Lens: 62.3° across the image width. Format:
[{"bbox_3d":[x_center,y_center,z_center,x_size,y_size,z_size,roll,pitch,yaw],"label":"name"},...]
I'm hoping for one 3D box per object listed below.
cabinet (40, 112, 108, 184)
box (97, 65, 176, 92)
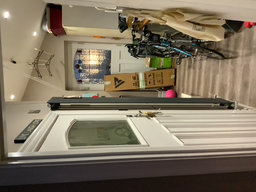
[{"bbox_3d":[-0.760,0.640,3.230,1.780,0.730,0.370,-141,52,-75],"label":"cabinet"},{"bbox_3d":[0.130,-0.320,4.220,0.680,1.460,0.390,155,115,-77],"label":"box"}]
